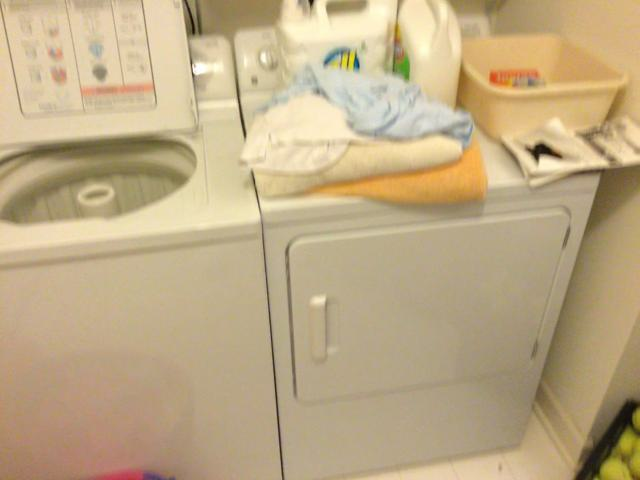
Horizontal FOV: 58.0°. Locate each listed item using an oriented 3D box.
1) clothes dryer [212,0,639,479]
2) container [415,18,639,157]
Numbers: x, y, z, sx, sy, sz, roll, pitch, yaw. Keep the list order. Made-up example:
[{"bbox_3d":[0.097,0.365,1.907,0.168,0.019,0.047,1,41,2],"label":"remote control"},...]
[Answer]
[{"bbox_3d":[0.210,-0.010,1.500,0.810,1.150,0.680,-7,35,-10],"label":"clothes dryer"},{"bbox_3d":[0.450,-0.370,1.330,0.310,0.150,0.440,-7,35,-10],"label":"container"}]
